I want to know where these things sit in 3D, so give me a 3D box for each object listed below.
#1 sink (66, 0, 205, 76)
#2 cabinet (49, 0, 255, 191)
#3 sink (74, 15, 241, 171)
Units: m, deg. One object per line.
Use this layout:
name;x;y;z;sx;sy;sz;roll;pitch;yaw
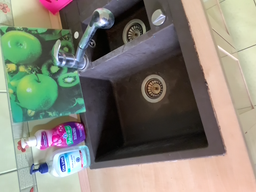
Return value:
sink;0.000;-0.240;0.780;0.480;0.160;0.180;-19;80;35
cabinet;0.250;0.000;1.030;0.580;0.870;1.190;-19;80;35
sink;0.070;0.030;0.750;0.480;0.190;0.380;-19;80;35
